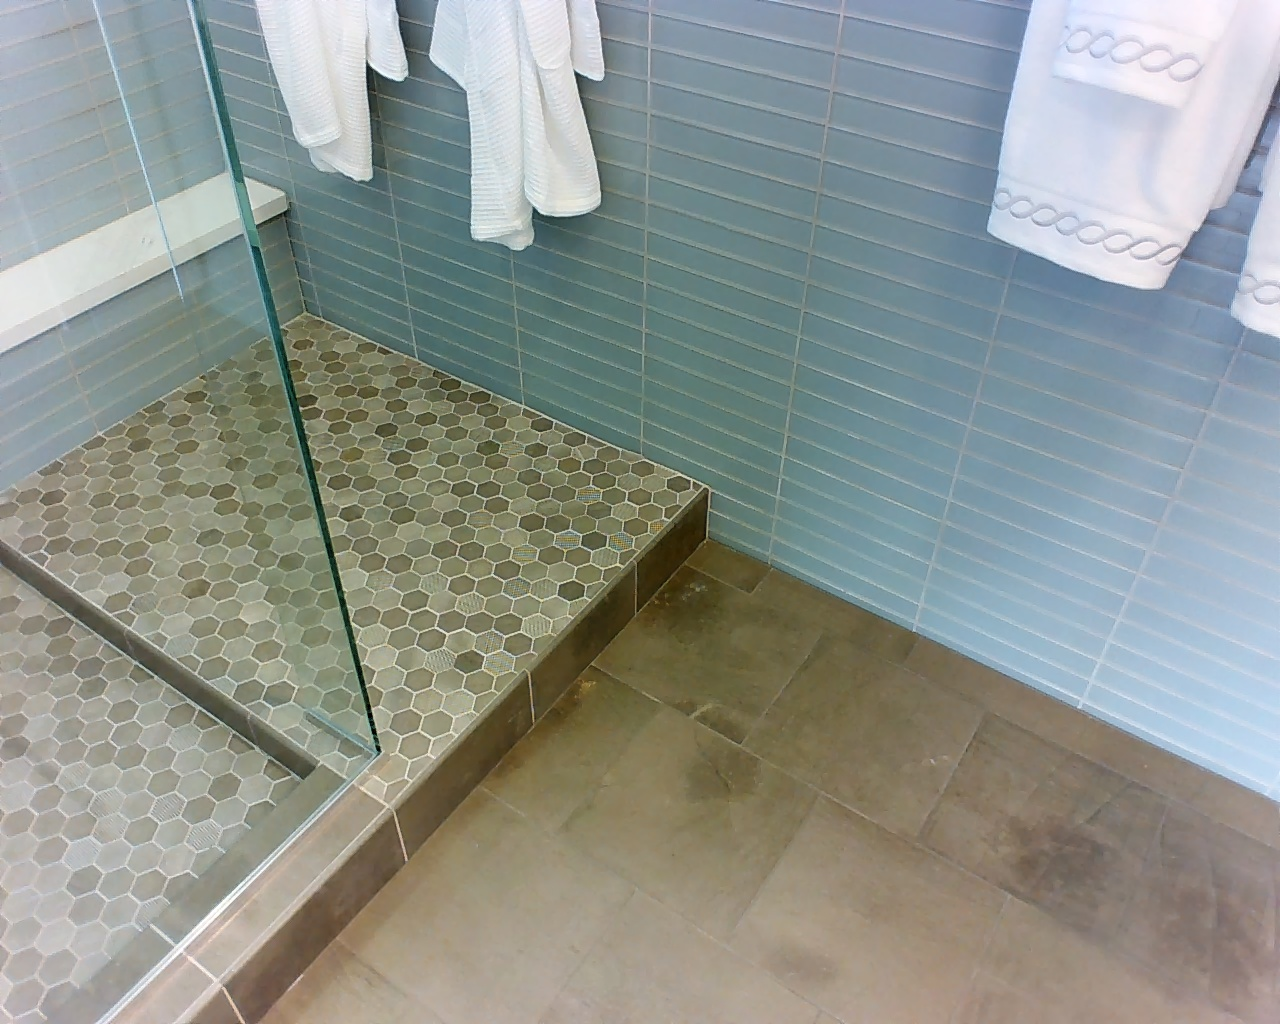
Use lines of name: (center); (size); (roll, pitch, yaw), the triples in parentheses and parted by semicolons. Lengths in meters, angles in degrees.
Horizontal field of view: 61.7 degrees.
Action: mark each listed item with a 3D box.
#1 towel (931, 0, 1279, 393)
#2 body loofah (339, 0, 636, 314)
towel: (0.550, -0.490, 1.140); (0.300, 0.630, 0.230); (24, 47, 25)
body loofah: (-0.230, -0.870, 1.500); (0.380, 1.130, 0.220); (21, 46, 23)
